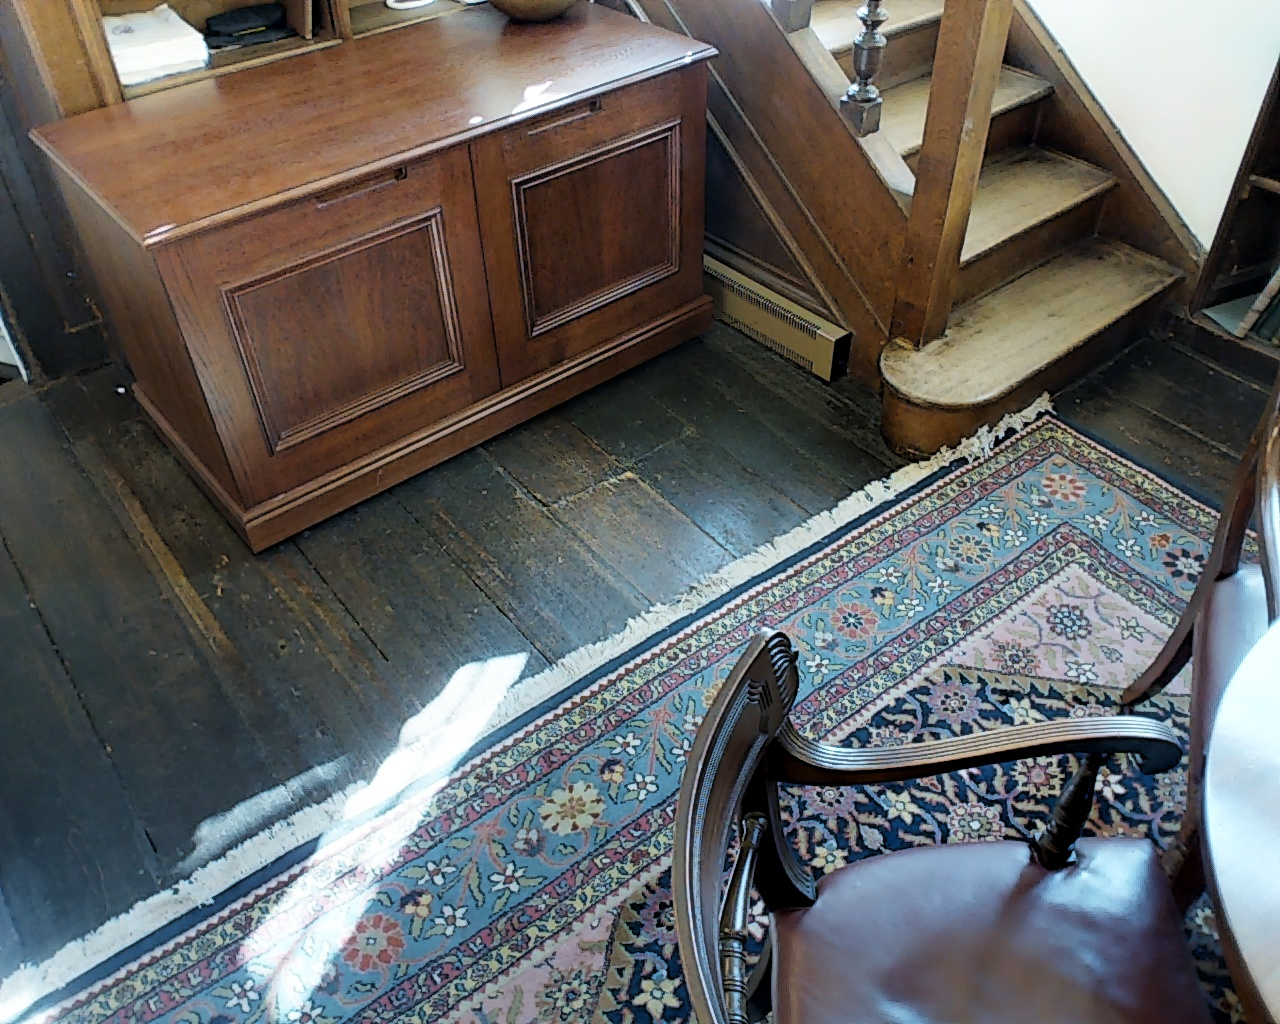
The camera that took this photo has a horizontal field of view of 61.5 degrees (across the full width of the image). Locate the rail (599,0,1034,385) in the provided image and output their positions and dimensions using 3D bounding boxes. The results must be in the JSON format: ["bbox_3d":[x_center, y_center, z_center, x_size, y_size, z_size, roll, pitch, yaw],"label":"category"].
[{"bbox_3d":[0.330,-1.310,2.300,0.160,1.870,1.120,-32,50,-30],"label":"rail"}]
